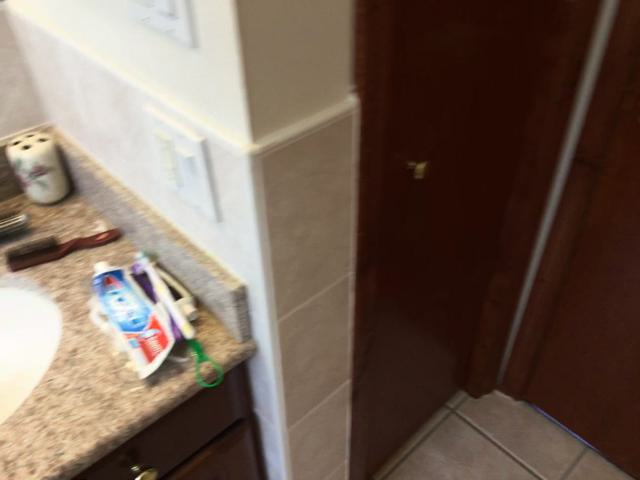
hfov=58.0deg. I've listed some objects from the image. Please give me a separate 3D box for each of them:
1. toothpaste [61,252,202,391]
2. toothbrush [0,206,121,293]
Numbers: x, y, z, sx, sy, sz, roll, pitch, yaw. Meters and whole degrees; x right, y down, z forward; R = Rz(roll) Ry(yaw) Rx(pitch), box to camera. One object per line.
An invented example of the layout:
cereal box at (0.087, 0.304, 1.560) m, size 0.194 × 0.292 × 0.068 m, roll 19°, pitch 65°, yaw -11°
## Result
toothpaste at (-0.250, 0.100, 0.760) m, size 0.080 × 0.050 × 0.200 m, roll -33°, pitch 49°, yaw -31°
toothbrush at (-0.410, 0.010, 0.900) m, size 0.160 × 0.020 × 0.100 m, roll -33°, pitch 49°, yaw -31°
